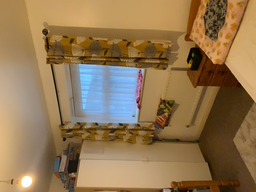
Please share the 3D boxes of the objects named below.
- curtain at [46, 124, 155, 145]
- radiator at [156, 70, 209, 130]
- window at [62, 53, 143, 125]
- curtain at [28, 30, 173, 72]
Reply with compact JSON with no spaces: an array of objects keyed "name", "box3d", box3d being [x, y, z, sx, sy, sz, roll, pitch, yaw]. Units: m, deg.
[{"name":"curtain","box3d":[-0.390,0.590,3.190,0.100,1.560,0.320,-95,9,-54]},{"name":"radiator","box3d":[0.720,0.100,2.960,0.070,0.500,1.000,-95,9,-53]},{"name":"window","box3d":[-0.360,-0.040,3.040,0.060,1.010,1.190,-95,8,-52]},{"name":"curtain","box3d":[-0.280,-0.490,2.380,0.150,1.500,0.360,-95,8,-51]}]
